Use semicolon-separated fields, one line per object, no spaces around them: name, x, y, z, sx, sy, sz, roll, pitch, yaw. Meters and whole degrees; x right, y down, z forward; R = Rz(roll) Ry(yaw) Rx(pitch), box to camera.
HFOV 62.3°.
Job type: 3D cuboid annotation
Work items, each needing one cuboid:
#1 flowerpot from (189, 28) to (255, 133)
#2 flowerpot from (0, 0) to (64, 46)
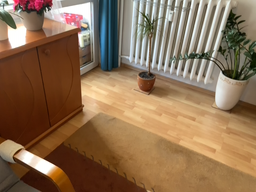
flowerpot;1.130;-0.180;2.190;0.690;0.810;0.400;24;38;25
flowerpot;-0.700;-0.610;1.560;0.320;0.340;0.260;21;37;22
